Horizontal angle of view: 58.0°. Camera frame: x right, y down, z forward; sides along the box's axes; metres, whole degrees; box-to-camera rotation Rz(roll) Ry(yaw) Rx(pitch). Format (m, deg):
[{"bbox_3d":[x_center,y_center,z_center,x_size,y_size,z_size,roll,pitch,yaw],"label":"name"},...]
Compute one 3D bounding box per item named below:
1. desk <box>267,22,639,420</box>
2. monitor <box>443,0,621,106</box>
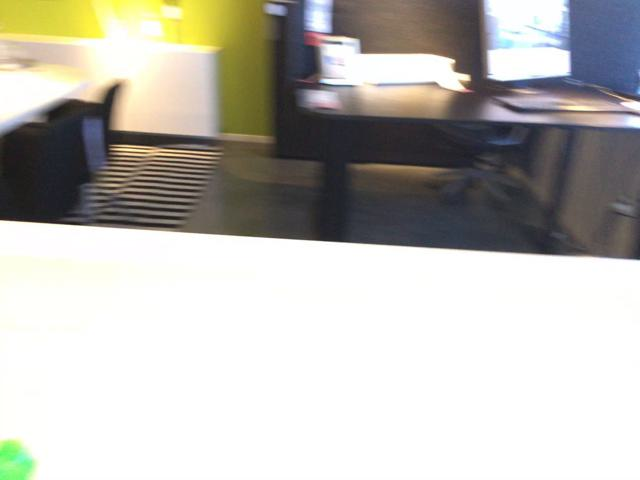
[{"bbox_3d":[0.550,-0.110,2.260,1.350,1.200,0.810,7,22,-4],"label":"desk"},{"bbox_3d":[0.790,-0.780,2.240,0.470,0.390,0.390,7,22,-4],"label":"monitor"}]
